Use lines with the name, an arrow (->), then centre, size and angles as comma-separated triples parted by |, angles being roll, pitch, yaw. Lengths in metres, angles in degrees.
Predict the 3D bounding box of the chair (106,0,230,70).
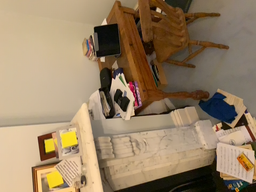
chair -> 0.330, -0.530, 1.770 | 0.490, 0.850, 0.450 | -22, 72, 57
